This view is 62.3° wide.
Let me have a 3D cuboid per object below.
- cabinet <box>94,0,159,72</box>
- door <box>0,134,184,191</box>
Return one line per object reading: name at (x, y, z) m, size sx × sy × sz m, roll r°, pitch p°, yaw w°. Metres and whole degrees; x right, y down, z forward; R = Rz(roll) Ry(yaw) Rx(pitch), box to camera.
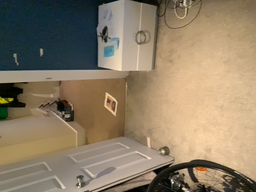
cabinet at (-0.030, -0.530, 1.940) m, size 0.430 × 0.380 × 0.570 m, roll 20°, pitch 111°, yaw 52°
door at (-0.630, 0.600, 1.580) m, size 0.960 × 2.010 × 0.040 m, roll 9°, pitch 102°, yaw 54°
